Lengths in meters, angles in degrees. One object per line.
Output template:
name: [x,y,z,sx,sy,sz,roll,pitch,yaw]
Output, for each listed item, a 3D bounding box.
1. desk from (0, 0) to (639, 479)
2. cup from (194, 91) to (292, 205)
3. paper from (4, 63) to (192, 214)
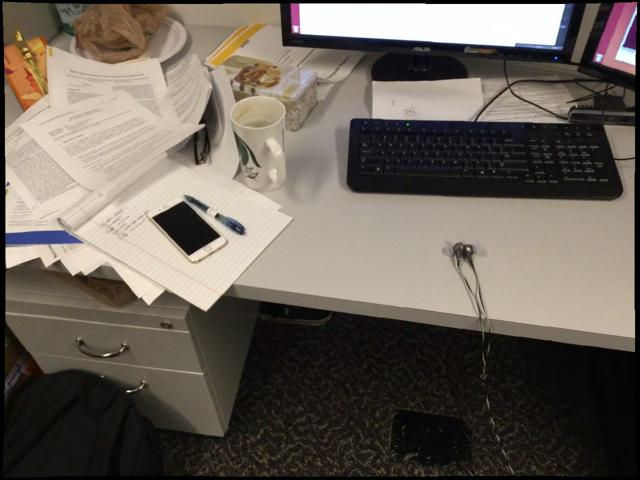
desk: [0.150,0.040,1.250,1.708,0.850,0.790,8,48,8]
cup: [-0.120,-0.150,0.940,0.120,0.140,0.100,8,48,8]
paper: [-0.410,-0.200,1.050,0.220,0.050,0.310,-30,54,-23]
